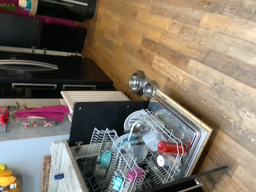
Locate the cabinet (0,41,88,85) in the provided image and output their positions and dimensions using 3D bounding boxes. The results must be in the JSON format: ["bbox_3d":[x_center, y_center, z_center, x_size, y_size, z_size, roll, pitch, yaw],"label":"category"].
[{"bbox_3d":[-1.690,-0.520,3.390,0.490,1.950,0.500,46,128,48],"label":"cabinet"}]

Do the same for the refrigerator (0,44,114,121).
[{"bbox_3d":[-1.260,-0.220,2.870,0.980,1.800,0.600,46,128,48],"label":"refrigerator"}]
